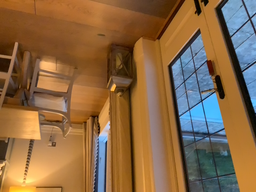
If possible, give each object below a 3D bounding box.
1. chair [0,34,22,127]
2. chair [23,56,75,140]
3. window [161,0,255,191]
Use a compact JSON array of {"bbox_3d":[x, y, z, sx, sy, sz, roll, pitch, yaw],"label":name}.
[{"bbox_3d":[-1.440,-0.170,2.230,0.390,0.860,0.460,8,152,-17],"label":"chair"},{"bbox_3d":[-0.970,0.040,2.670,0.450,0.860,0.540,8,152,-18],"label":"chair"},{"bbox_3d":[0.650,-0.020,1.280,0.090,2.040,1.250,10,151,-20],"label":"window"}]
